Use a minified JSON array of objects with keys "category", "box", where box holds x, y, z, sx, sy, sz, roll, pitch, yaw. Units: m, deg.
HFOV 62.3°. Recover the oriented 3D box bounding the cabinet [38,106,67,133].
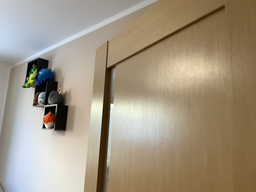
[{"category":"cabinet","box":[-0.730,0.230,2.050,0.240,0.240,0.150,-7,-14,43]}]
